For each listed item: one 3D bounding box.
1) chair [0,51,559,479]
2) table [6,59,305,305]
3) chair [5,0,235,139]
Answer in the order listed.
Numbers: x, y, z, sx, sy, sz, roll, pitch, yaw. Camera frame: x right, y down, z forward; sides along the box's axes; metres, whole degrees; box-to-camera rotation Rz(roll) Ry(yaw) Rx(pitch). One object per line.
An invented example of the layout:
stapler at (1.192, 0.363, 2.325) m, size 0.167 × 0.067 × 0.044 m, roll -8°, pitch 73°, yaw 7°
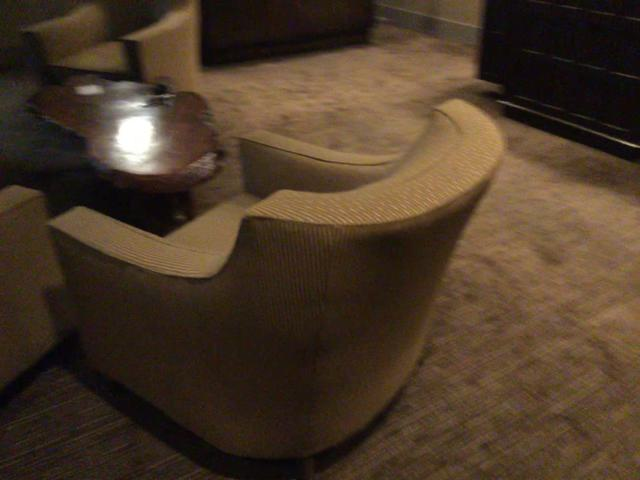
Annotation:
chair at (-0.100, 0.050, 1.640) m, size 1.070 × 0.830 × 0.940 m, roll 21°, pitch 37°, yaw 31°
table at (-0.830, -0.400, 2.720) m, size 0.750 × 0.480 × 1.540 m, roll -22°, pitch 37°, yaw -31°
chair at (-1.210, -1.290, 3.710) m, size 0.890 × 0.880 × 0.980 m, roll 10°, pitch 33°, yaw 18°
